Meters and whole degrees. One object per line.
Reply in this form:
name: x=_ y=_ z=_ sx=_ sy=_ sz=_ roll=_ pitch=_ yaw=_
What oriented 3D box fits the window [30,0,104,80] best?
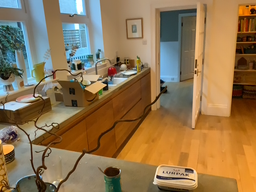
window: x=-0.840 y=-1.160 z=3.100 sx=0.400 sy=1.640 sz=1.060 roll=4 pitch=18 yaw=21
